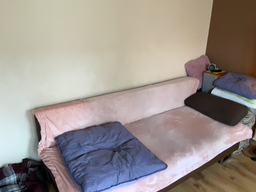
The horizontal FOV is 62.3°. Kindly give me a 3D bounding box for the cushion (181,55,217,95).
[{"bbox_3d":[0.990,-0.300,2.970,0.430,0.480,0.180,-11,24,-31],"label":"cushion"}]

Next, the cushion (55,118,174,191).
[{"bbox_3d":[-0.130,0.420,1.680,0.690,0.100,0.670,-12,24,-32],"label":"cushion"}]

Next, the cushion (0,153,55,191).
[{"bbox_3d":[-0.940,0.760,1.690,0.580,0.230,0.460,-11,24,-32],"label":"cushion"}]
